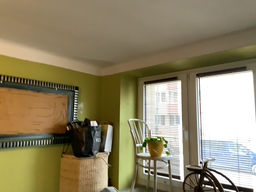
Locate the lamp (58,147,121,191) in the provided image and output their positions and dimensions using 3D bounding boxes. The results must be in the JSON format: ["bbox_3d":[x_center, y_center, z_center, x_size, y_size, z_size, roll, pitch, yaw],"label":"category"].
[{"bbox_3d":[-0.430,0.930,2.480,0.410,0.580,0.600,-5,-9,37],"label":"lamp"}]
